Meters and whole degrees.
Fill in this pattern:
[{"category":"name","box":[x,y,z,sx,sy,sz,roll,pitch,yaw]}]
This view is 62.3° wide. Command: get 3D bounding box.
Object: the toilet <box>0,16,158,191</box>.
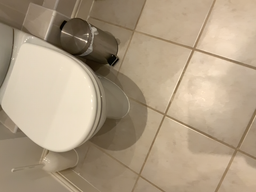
[{"category":"toilet","box":[-0.370,-0.040,0.870,0.660,0.770,0.410,26,99,25]}]
